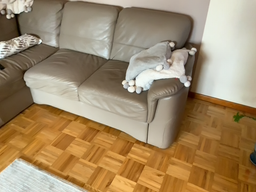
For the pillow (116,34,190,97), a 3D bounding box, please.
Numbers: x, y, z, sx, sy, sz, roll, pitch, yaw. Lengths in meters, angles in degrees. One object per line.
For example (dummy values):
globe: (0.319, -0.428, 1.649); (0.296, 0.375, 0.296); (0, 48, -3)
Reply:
pillow: (0.220, -0.270, 1.720); (0.500, 0.240, 0.490); (10, 38, 12)
